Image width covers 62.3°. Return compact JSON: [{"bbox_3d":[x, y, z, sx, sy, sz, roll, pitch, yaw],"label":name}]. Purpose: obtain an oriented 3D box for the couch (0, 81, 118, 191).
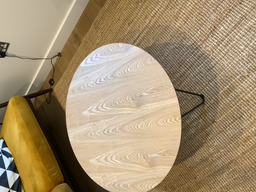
[{"bbox_3d":[-0.680,0.850,1.560,0.910,0.730,1.790,-50,63,27],"label":"couch"}]
